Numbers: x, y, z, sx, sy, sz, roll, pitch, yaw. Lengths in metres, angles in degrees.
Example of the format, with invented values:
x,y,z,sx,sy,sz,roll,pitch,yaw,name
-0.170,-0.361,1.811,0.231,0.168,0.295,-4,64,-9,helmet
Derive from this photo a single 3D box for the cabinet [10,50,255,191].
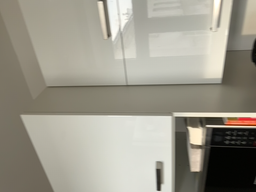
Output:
x,y,z,sx,sy,sz,roll,pitch,yaw,name
0.120,0.170,1.160,0.620,1.030,0.610,-73,-20,-56,cabinet
